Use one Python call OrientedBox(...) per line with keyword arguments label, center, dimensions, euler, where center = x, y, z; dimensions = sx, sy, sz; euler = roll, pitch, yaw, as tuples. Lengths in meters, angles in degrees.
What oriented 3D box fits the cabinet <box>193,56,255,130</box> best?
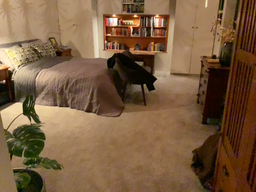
OrientedBox(label="cabinet", center=(1.370, -0.100, 3.190), dimensions=(0.540, 0.830, 0.910), euler=(4, 21, 8))
